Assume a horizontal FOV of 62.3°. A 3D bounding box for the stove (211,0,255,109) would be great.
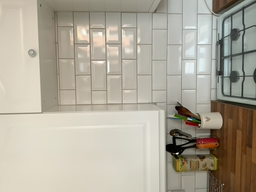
[{"bbox_3d":[0.650,-0.230,1.120,0.660,0.090,0.570,-138,47,-83],"label":"stove"}]
